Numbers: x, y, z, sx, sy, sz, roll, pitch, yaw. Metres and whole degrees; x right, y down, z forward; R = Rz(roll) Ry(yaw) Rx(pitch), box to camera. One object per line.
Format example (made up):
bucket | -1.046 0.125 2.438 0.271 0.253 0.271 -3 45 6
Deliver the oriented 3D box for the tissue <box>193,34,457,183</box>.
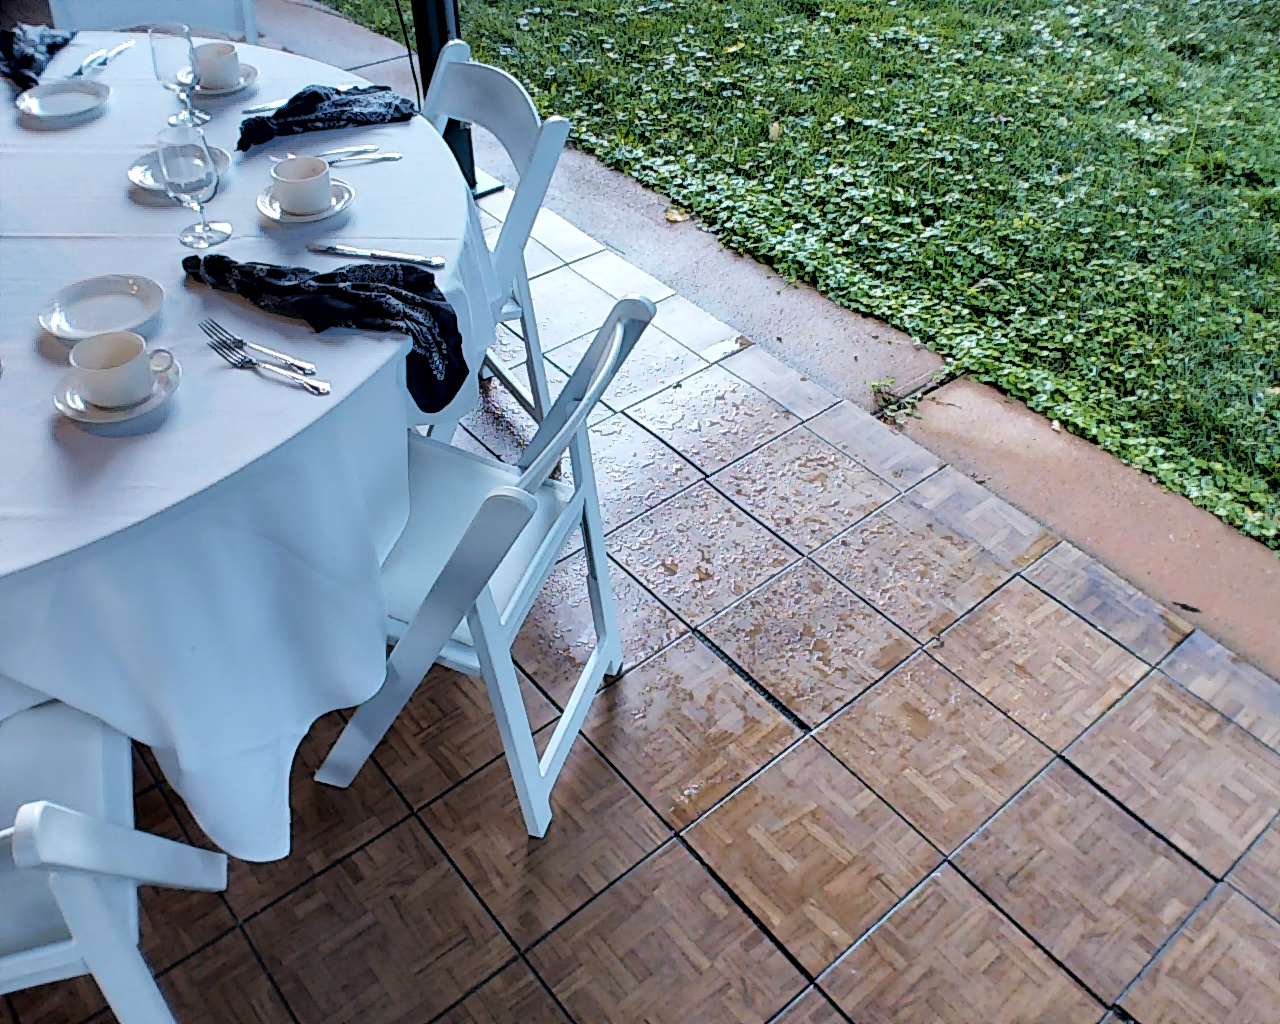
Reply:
tissue | -0.550 -0.720 1.900 0.370 0.100 0.240 -27 49 -27
